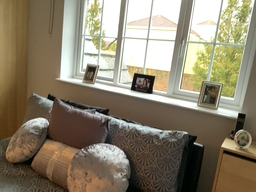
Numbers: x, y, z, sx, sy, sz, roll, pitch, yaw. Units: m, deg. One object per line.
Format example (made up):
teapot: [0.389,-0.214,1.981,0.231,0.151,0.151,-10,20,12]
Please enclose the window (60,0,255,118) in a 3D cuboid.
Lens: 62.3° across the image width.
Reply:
window: [0.100,-0.470,1.960,1.770,0.940,0.090,13,12,25]
